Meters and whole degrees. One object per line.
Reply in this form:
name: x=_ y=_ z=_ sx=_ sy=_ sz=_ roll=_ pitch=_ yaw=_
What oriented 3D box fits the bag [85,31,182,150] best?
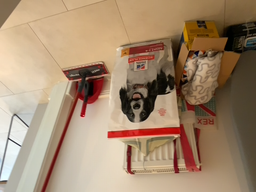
bag: x=0.050 y=-0.050 z=1.310 sx=0.450 sy=0.670 sz=0.230 roll=-10 pitch=139 yaw=17
